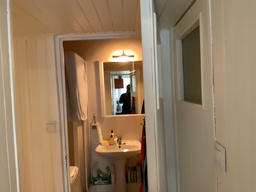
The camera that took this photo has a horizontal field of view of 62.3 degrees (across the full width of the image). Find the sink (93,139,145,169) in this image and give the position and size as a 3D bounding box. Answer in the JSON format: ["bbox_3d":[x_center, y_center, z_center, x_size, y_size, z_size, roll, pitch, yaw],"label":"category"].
[{"bbox_3d":[-0.110,0.750,2.790,0.620,0.220,0.480,-2,3,-2],"label":"sink"}]
